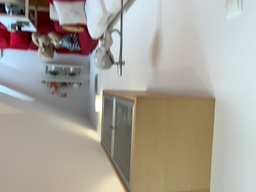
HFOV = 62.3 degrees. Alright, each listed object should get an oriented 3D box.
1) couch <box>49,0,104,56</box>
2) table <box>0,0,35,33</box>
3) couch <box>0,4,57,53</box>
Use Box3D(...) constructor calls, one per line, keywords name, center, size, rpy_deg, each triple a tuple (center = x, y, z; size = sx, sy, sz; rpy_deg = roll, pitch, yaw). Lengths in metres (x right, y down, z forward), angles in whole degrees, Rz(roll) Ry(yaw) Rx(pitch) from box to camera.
Box3D(name="couch", center=(-1.180, -1.500, 4.710), size=(0.870, 0.840, 2.510), rpy_deg=(1, -176, -16))
Box3D(name="table", center=(-2.120, -1.630, 3.980), size=(0.530, 0.570, 1.110), rpy_deg=(1, -176, -16))
Box3D(name="couch", center=(-2.560, -1.590, 5.130), size=(1.560, 0.830, 0.940), rpy_deg=(1, -176, -16))
